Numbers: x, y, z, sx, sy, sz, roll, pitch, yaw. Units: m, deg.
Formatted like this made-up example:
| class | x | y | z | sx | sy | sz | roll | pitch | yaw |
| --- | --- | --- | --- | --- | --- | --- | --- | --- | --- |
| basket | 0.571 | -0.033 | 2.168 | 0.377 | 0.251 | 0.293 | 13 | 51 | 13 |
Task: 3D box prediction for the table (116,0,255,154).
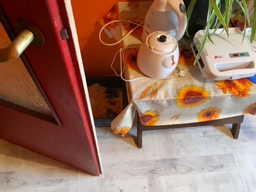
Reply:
| class | x | y | z | sx | sy | sz | roll | pitch | yaw |
| --- | --- | --- | --- | --- | --- | --- | --- | --- | --- |
| table | 0.410 | -0.090 | 1.300 | 0.920 | 0.670 | 0.630 | -3 | 59 | -6 |
